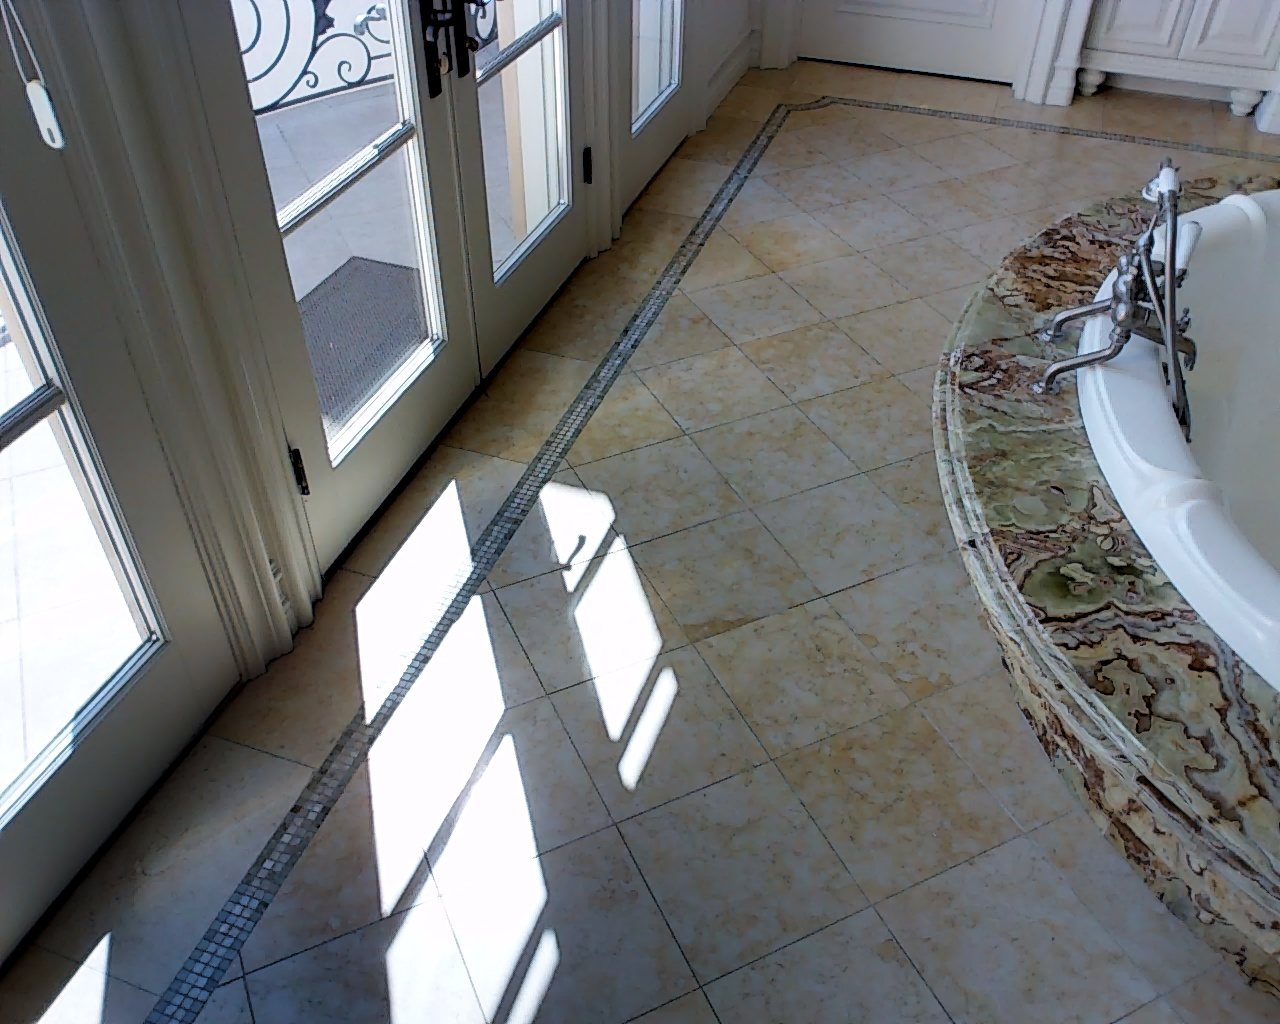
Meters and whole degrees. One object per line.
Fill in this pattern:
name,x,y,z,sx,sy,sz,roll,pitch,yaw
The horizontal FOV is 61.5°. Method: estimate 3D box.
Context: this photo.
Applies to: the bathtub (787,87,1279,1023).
bathtub,1.580,-0.020,2.110,1.990,0.550,2.510,13,42,15
